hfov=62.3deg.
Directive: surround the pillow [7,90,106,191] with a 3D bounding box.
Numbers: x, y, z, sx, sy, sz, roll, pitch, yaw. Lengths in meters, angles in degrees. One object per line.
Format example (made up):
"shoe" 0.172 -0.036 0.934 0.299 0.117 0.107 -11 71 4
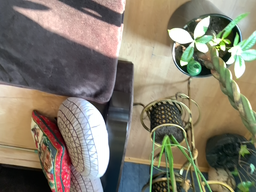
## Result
"pillow" -0.310 0.380 1.180 0.260 0.530 0.860 11 161 -2
